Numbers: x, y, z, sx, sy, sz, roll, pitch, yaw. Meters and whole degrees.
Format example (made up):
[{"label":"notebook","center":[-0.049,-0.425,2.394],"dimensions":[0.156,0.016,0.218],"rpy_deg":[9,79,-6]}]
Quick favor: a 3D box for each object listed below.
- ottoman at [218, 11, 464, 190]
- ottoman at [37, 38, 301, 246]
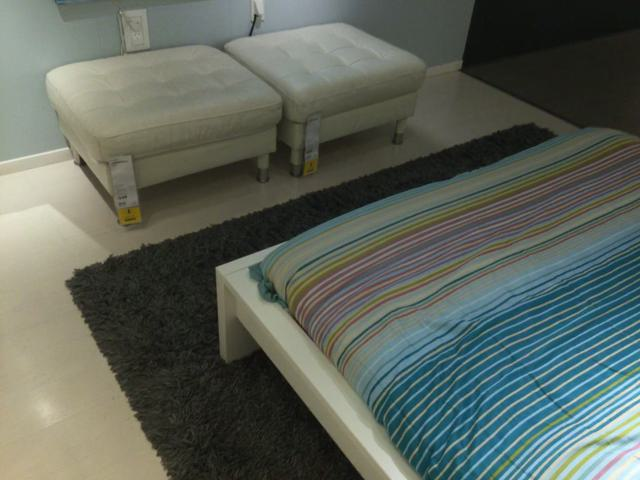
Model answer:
[{"label":"ottoman","center":[0.090,-0.700,2.710],"dimensions":[0.870,0.510,0.660],"rpy_deg":[-20,37,-29]},{"label":"ottoman","center":[-0.590,-0.450,2.350],"dimensions":[0.800,0.500,0.630],"rpy_deg":[-20,37,-29]}]
